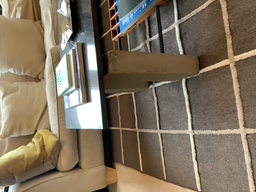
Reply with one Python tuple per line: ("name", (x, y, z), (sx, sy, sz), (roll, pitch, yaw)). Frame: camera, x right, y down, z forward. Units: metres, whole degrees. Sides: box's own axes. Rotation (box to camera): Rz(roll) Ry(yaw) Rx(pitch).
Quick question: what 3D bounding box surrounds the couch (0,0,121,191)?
("couch", (-0.720, -0.300, 1.800), (0.960, 0.770, 2.190), (-12, 83, 60))
